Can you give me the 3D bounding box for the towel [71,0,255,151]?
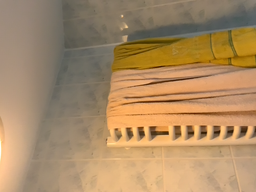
[{"bbox_3d":[0.320,-0.130,0.900,0.280,0.930,0.620,75,-165,-47],"label":"towel"}]
